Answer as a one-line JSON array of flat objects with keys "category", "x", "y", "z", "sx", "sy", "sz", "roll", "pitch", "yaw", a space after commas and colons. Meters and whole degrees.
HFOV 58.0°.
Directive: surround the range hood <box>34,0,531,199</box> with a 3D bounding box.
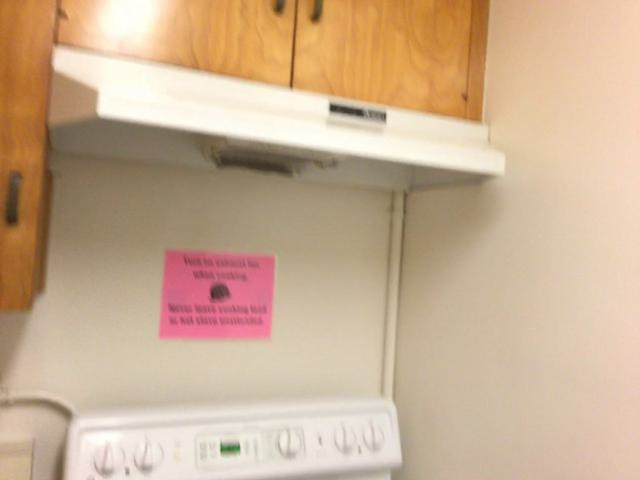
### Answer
[{"category": "range hood", "x": -0.060, "y": -0.240, "z": 1.160, "sx": 0.910, "sy": 0.180, "sz": 0.380, "roll": 6, "pitch": -3, "yaw": -26}]
